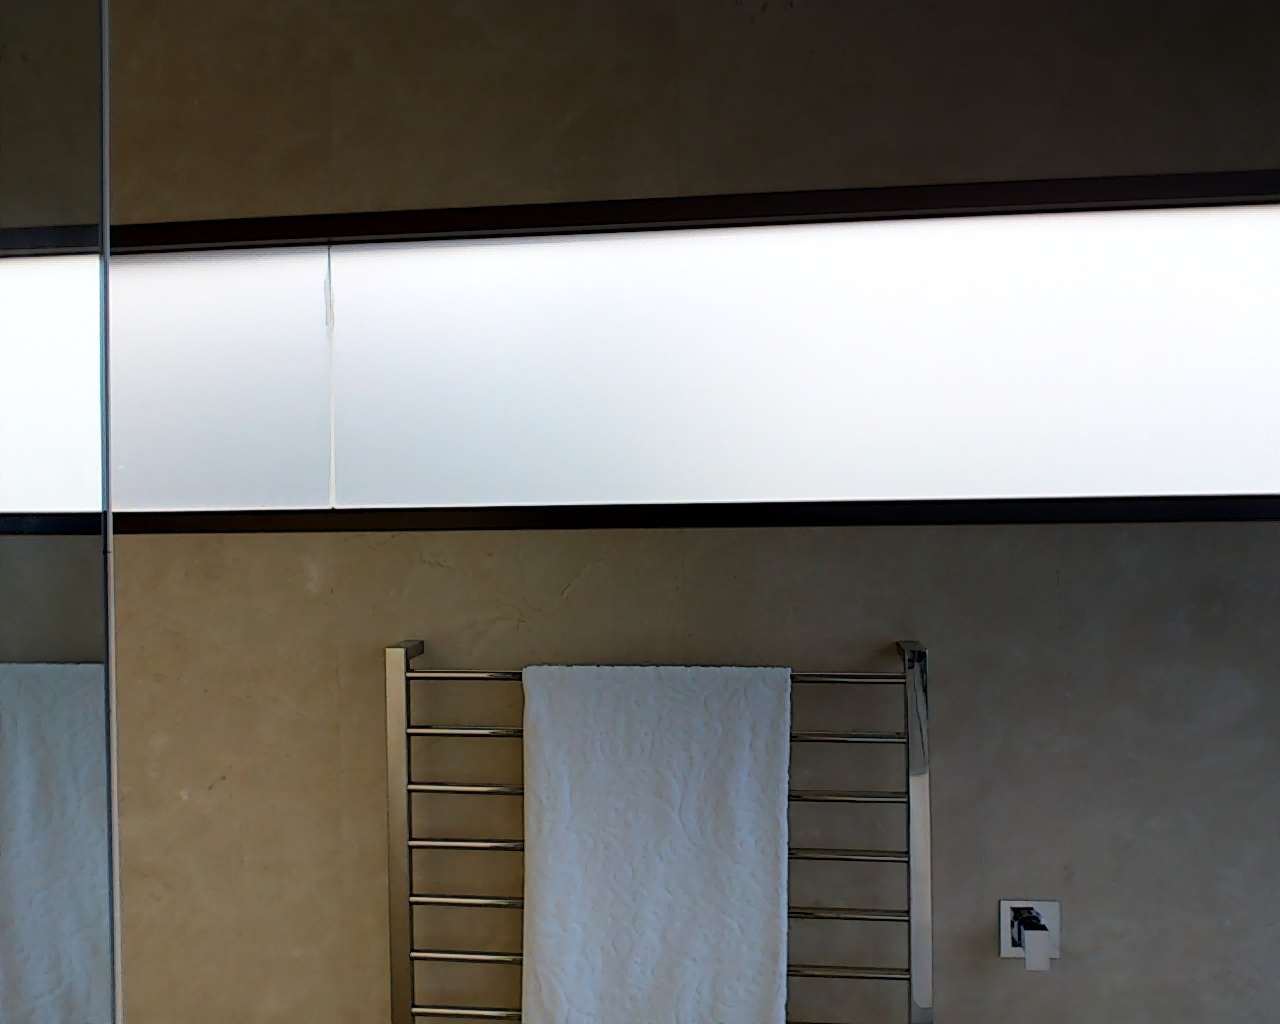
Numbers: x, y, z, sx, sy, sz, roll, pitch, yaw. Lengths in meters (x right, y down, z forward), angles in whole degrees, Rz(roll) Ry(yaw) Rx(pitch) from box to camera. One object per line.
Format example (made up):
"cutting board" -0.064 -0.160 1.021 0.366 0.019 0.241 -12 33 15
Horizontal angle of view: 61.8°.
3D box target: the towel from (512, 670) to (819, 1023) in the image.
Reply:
"towel" 0.050 0.760 1.870 0.510 0.950 0.120 -1 0 7

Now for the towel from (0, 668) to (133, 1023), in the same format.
"towel" -1.080 0.710 1.980 0.230 0.830 0.090 -1 0 7
